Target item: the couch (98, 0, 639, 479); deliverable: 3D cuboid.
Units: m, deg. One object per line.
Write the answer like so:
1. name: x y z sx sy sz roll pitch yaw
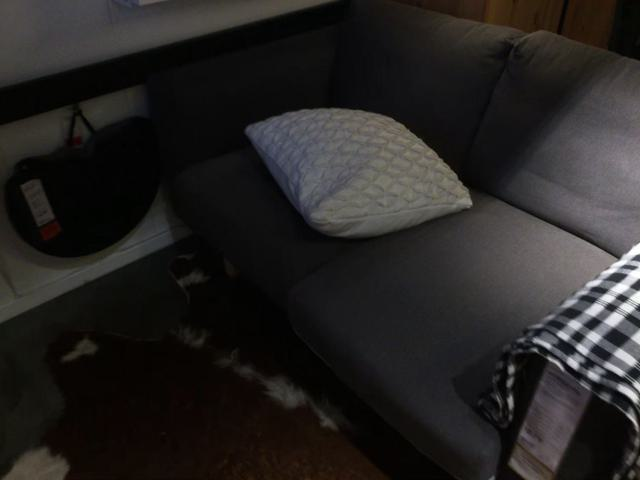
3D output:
1. couch: 0.330 -0.130 1.530 1.020 0.700 1.710 -28 43 -29
